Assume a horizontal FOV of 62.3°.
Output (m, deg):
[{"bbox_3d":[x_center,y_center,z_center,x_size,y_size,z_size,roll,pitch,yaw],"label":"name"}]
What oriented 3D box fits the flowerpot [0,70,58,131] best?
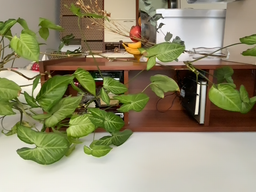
[{"bbox_3d":[-0.540,0.010,1.030,0.220,0.310,0.260,-96,6,-79],"label":"flowerpot"}]
